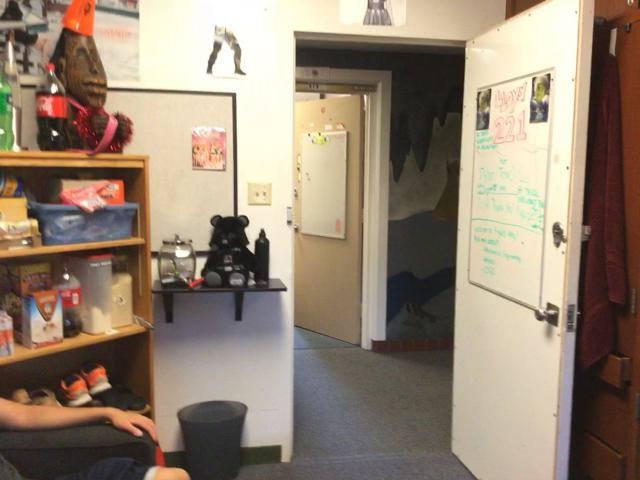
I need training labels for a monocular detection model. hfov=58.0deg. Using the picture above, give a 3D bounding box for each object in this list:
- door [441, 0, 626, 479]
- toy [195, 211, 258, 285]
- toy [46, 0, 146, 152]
[{"bbox_3d":[0.830,0.090,2.470,0.250,2.170,0.980,0,4,-9],"label":"door"},{"bbox_3d":[-0.410,0.030,2.560,0.260,0.310,0.210,0,4,-8],"label":"toy"},{"bbox_3d":[-0.930,-0.670,2.390,0.390,0.570,0.230,4,5,44],"label":"toy"}]
